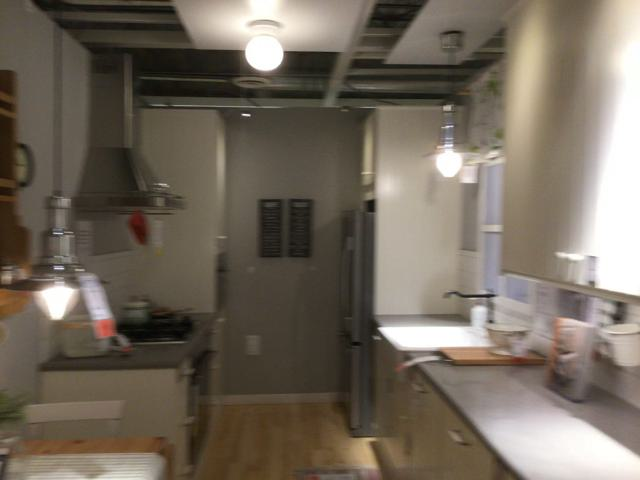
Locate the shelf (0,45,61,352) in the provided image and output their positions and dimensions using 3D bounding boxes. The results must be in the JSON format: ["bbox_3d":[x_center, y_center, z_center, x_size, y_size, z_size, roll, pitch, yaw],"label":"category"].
[{"bbox_3d":[-1.210,-0.150,1.950,0.200,1.070,0.910,-3,1,1],"label":"shelf"}]

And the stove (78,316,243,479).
[{"bbox_3d":[-0.890,1.050,3.480,0.670,1.010,0.970,-3,1,1],"label":"stove"}]
